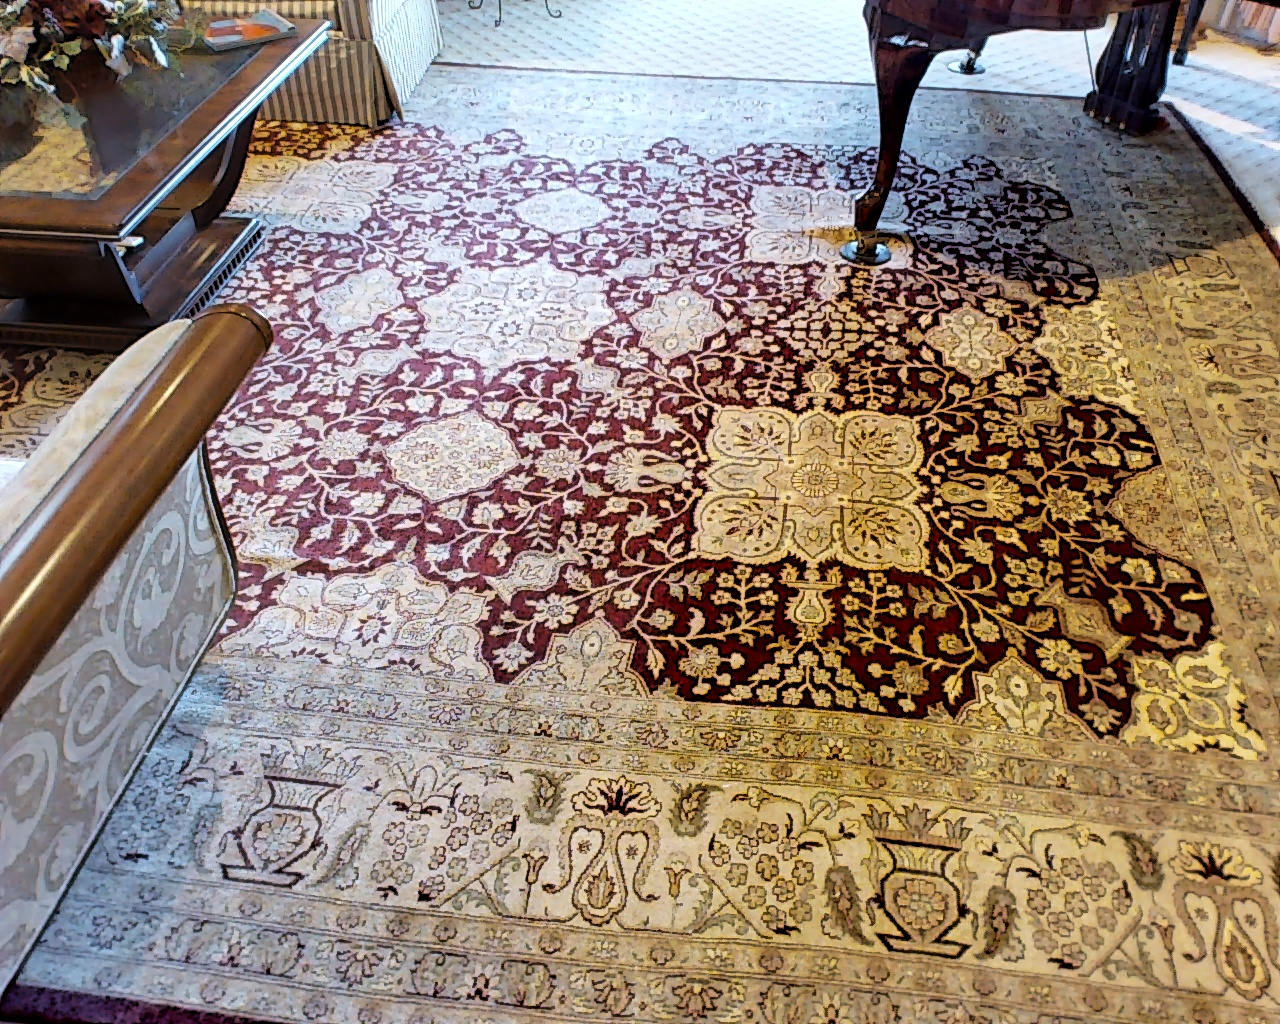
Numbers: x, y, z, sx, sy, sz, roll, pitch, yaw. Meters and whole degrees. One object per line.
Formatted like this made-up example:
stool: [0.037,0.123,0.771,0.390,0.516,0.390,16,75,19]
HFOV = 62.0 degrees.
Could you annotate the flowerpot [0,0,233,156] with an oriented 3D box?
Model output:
flowerpot: [-1.330,-1.070,2.440,0.540,0.250,0.620,2,42,2]
